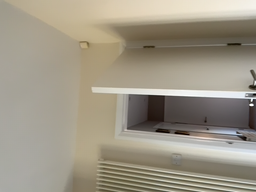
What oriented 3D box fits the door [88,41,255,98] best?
[{"bbox_3d":[0.820,-0.240,1.530,0.950,1.990,0.040,-61,-31,-56],"label":"door"}]
